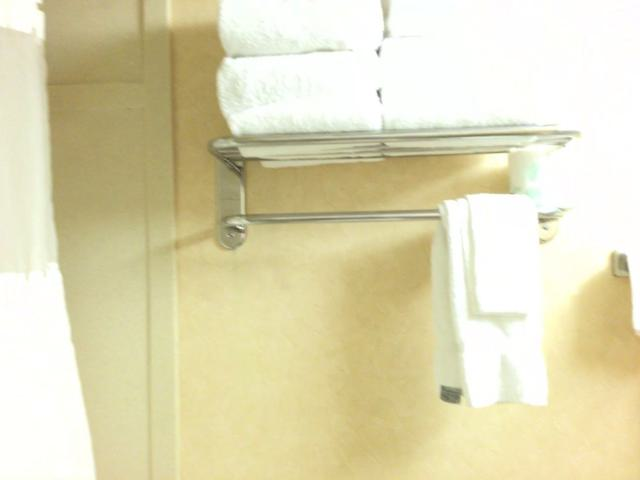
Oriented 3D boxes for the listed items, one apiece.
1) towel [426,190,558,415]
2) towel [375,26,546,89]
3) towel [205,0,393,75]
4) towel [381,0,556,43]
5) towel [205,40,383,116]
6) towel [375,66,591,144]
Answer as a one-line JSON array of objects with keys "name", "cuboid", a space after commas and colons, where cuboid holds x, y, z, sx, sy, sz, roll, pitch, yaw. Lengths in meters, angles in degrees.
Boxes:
[{"name": "towel", "cuboid": [0.280, 0.100, 0.970, 0.180, 0.350, 0.130, -1, -2, 3]}, {"name": "towel", "cuboid": [0.220, -0.290, 0.920, 0.260, 0.080, 0.040, -1, -2, 3]}, {"name": "towel", "cuboid": [-0.030, -0.360, 0.920, 0.280, 0.150, 0.120, -1, -2, 3]}, {"name": "towel", "cuboid": [0.230, -0.380, 0.920, 0.260, 0.100, 0.070, -1, -2, 3]}, {"name": "towel", "cuboid": [-0.040, -0.250, 0.900, 0.270, 0.100, 0.040, -1, -2, 3]}, {"name": "towel", "cuboid": [0.250, -0.210, 0.910, 0.320, 0.100, 0.060, -1, -2, 3]}]
